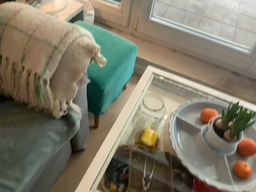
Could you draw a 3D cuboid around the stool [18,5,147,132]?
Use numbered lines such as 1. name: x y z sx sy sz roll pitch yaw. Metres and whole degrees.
1. stool: -0.230 -0.190 1.300 0.470 0.390 0.550 23 50 10
